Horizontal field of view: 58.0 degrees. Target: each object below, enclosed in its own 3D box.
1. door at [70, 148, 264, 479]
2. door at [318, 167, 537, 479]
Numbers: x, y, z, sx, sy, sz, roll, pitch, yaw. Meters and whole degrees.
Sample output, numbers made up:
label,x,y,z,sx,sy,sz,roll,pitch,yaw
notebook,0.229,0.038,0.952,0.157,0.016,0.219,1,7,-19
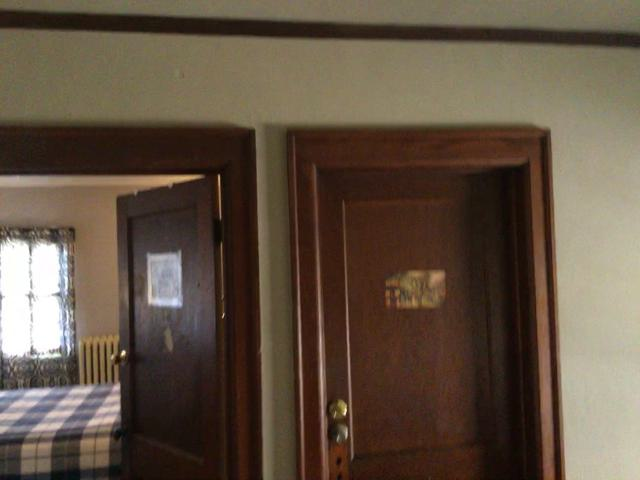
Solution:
label,x,y,z,sx,sy,sz,roll,pitch,yaw
door,-0.680,0.720,2.380,0.330,1.980,1.020,6,-9,-39
door,0.410,0.710,2.210,0.820,1.950,0.120,2,-7,-9
